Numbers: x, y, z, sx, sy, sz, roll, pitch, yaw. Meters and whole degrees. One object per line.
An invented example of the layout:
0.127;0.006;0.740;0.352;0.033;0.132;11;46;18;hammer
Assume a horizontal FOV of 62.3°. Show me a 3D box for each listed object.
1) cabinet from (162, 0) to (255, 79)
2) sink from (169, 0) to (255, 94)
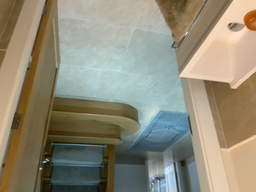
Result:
0.370;-0.450;0.950;0.260;0.580;0.430;5;150;-11;cabinet
0.370;-0.210;0.810;0.260;0.190;0.430;5;150;-11;sink
